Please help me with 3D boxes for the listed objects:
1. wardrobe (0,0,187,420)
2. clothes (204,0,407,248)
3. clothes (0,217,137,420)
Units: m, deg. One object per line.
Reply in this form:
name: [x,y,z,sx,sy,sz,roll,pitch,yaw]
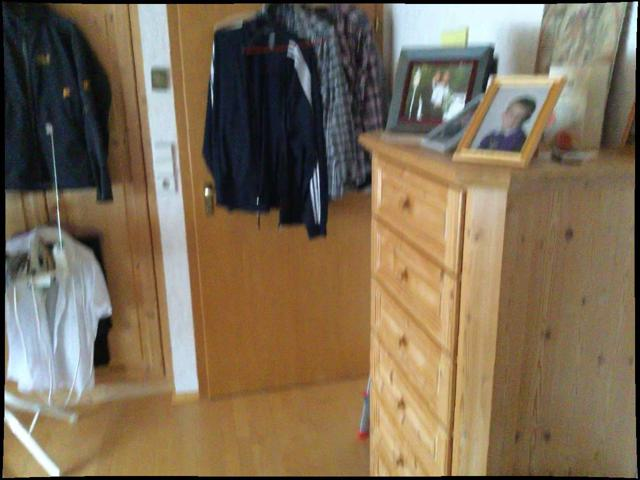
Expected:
wardrobe: [-2.058,-0.320,2.370,2.707,2.472,0.220,-5,17,-10]
clothes: [-0.050,-0.531,2.550,0.809,1.031,0.270,-5,17,-10]
clothes: [-1.209,0.360,2.670,0.569,0.861,0.210,-5,17,-10]
